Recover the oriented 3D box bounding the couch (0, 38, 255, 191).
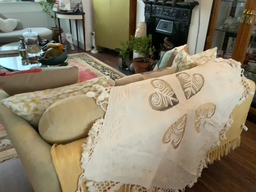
[{"bbox_3d":[0.040,0.160,1.450,1.470,0.780,0.910,-16,32,-30],"label":"couch"}]

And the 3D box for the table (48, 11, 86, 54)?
[{"bbox_3d":[-1.230,-1.310,4.310,0.430,0.710,0.700,-18,33,-34],"label":"table"}]

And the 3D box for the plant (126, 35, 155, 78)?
[{"bbox_3d":[0.170,-0.580,3.060,0.270,0.520,0.310,-16,32,-30],"label":"plant"}]
